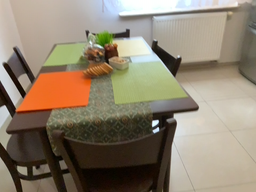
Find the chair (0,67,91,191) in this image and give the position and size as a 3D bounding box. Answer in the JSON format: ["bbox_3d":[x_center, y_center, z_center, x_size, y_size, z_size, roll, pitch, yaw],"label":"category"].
[{"bbox_3d":[-0.510,0.280,1.210,0.470,0.730,0.400,-10,31,-13],"label":"chair"}]

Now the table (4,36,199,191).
[{"bbox_3d":[-0.130,0.140,1.410,0.690,0.760,1.090,-5,30,-5],"label":"table"}]

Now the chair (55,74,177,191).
[{"bbox_3d":[-0.030,0.350,1.010,0.360,0.770,0.450,-3,30,-1],"label":"chair"}]
